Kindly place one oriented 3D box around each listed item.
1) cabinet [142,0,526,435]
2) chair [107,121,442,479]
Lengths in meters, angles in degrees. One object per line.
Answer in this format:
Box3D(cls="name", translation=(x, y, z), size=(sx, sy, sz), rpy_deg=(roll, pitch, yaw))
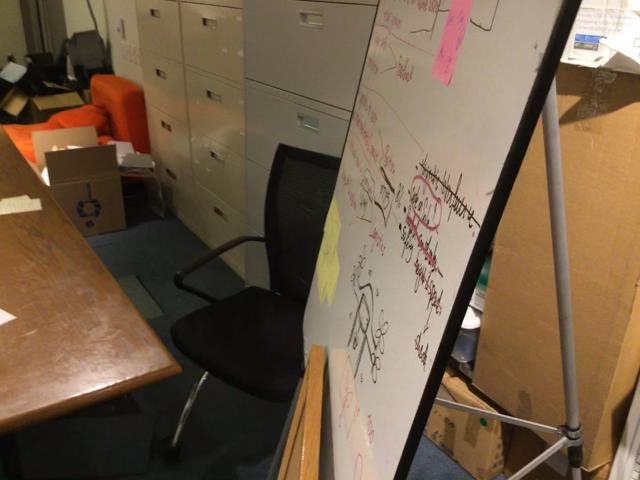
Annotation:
Box3D(cls="cabinet", translation=(-0.240, -0.540, 2.640), size=(0.450, 1.640, 2.310), rpy_deg=(-9, 25, -30))
Box3D(cls="chair", translation=(-0.130, 0.200, 1.700), size=(0.580, 0.940, 0.670), rpy_deg=(21, 27, 36))
